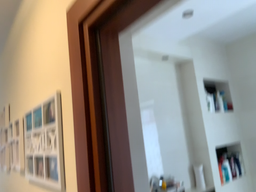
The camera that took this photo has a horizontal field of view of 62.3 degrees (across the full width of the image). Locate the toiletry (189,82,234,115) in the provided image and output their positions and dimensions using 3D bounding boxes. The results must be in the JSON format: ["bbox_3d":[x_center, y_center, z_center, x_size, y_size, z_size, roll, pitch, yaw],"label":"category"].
[{"bbox_3d":[0.880,0.030,2.230,0.470,0.310,0.160,1,-12,-34],"label":"toiletry"}]
